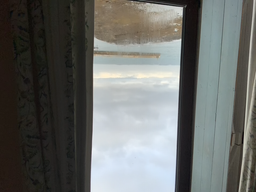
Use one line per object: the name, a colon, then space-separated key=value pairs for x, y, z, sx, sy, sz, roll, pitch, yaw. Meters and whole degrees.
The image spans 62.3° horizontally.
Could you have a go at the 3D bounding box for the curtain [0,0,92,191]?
curtain: x=-0.250 y=0.170 z=0.680 sx=0.240 sy=2.120 sz=0.130 roll=-3 pitch=-170 yaw=-21
